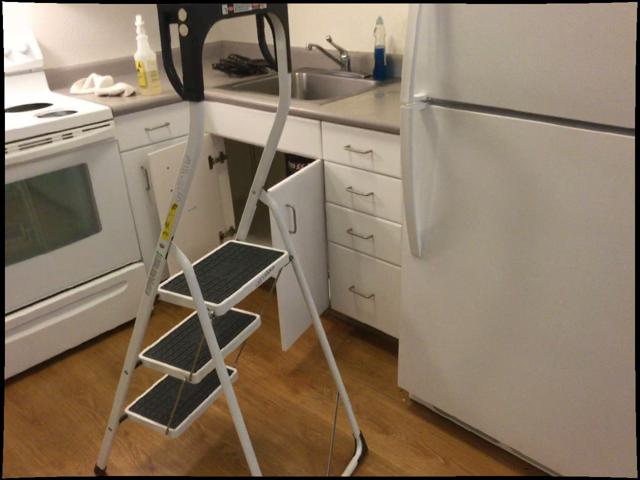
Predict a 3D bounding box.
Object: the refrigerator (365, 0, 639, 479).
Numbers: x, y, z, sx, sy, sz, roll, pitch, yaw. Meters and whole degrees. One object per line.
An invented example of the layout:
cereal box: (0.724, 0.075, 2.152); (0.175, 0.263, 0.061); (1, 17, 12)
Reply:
refrigerator: (0.499, -0.050, 1.430); (0.799, 1.563, 0.210); (20, 35, 41)
